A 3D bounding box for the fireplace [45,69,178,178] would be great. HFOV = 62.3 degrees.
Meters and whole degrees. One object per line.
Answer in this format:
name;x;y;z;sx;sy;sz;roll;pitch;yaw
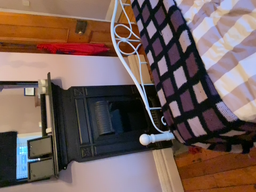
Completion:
fireplace;-0.200;0.210;2.230;0.300;1.200;0.980;127;135;-56
